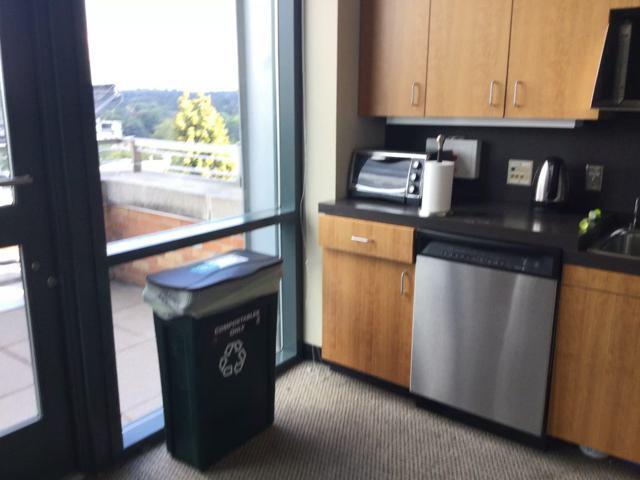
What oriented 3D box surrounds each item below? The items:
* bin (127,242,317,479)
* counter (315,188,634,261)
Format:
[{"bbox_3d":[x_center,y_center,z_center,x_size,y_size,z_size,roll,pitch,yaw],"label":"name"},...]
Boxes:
[{"bbox_3d":[-0.380,0.470,2.390,0.640,0.800,0.350,-11,14,-41],"label":"bin"},{"bbox_3d":[0.640,-0.110,2.620,0.690,0.120,1.210,-11,14,-41],"label":"counter"}]
